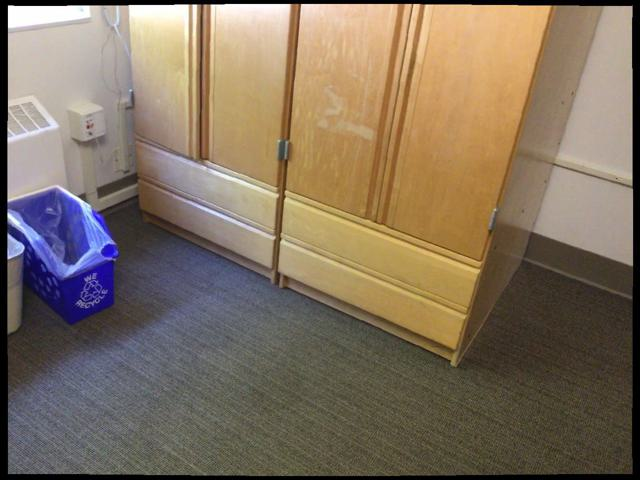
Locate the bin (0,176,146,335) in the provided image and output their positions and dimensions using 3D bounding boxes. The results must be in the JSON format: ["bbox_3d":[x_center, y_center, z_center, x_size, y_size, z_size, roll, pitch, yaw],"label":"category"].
[{"bbox_3d":[-0.958,0.040,2.170,0.450,0.350,0.340,22,35,26],"label":"bin"}]
